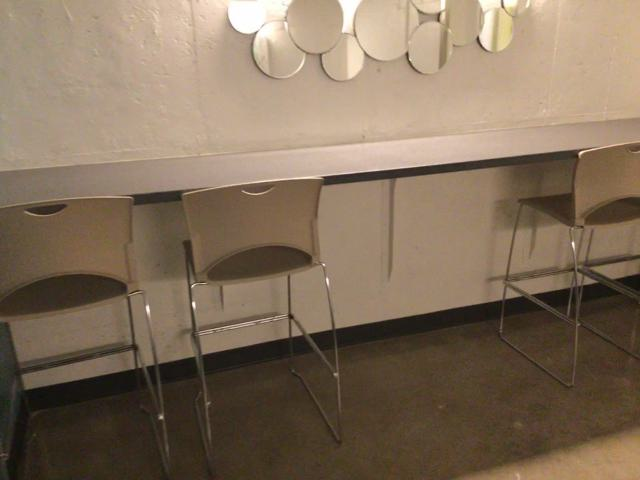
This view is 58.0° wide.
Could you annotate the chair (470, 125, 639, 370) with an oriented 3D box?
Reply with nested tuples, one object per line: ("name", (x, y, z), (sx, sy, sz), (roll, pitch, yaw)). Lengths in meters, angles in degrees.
("chair", (1.100, 0.010, 2.530), (0.500, 0.920, 0.530), (0, 16, -21))

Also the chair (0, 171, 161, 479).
("chair", (-0.870, 0.300, 1.990), (0.500, 0.980, 0.570), (-6, 15, -19))
